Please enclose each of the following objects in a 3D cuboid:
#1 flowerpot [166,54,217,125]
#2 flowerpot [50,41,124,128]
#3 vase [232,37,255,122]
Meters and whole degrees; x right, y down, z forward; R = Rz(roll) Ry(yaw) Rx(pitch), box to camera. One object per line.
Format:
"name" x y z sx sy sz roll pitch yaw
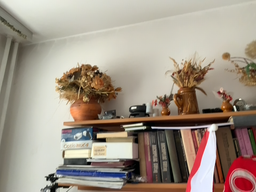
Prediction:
"flowerpot" 0.300 -0.020 1.000 0.190 0.280 0.150 -7 -19 22
"flowerpot" -0.200 -0.040 1.140 0.270 0.370 0.260 -7 -19 21
"vase" 0.610 -0.070 0.900 0.240 0.320 0.190 -5 -19 16
